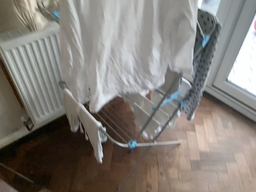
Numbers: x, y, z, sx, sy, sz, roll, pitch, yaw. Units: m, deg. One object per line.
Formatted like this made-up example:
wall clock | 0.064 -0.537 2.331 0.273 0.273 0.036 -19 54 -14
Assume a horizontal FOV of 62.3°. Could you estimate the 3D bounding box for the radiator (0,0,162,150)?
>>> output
radiator | -0.250 -0.180 1.480 1.020 0.830 0.190 -28 52 -26
